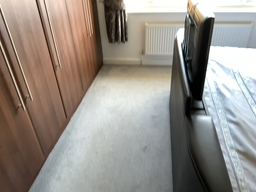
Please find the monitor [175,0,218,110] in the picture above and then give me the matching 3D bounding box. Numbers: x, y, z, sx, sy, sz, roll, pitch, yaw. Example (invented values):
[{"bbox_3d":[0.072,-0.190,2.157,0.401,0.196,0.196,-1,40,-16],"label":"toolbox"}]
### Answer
[{"bbox_3d":[0.380,-0.330,1.320,0.060,0.490,0.730,1,34,5],"label":"monitor"}]
